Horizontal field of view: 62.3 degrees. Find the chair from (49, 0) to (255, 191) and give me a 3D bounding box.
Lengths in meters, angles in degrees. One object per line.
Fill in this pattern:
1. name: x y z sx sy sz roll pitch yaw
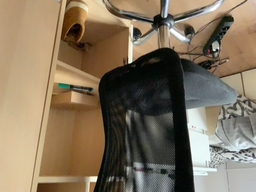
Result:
1. chair: 0.150 0.010 0.840 0.550 0.990 0.590 -15 155 40
